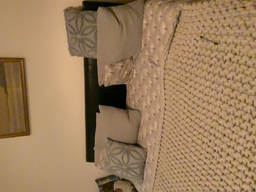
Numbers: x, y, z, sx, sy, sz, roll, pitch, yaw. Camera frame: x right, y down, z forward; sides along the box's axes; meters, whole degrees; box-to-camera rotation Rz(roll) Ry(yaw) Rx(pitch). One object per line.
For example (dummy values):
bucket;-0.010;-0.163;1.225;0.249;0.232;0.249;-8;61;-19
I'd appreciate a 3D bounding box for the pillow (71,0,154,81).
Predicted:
pillow;-0.130;-0.470;1.770;0.500;0.450;0.200;-55;32;9

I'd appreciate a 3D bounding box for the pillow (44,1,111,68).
pillow;-0.460;-0.560;1.940;0.400;0.410;0.200;-44;33;-1

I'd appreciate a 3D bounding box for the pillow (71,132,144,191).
pillow;-0.190;0.670;2.010;0.470;0.460;0.200;-46;33;5

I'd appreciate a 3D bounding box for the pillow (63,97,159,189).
pillow;-0.170;0.490;2.160;0.790;0.530;0.250;-44;33;3

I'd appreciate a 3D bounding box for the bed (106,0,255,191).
bed;0.400;0.340;1.630;2.120;0.600;2.030;-134;43;-60
